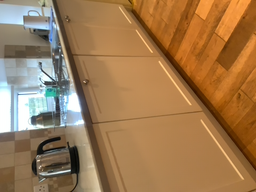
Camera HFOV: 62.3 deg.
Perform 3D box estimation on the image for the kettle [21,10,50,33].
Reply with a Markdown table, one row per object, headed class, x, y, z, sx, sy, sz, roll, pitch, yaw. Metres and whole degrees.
| class | x | y | z | sx | sy | sz | roll | pitch | yaw |
| --- | --- | --- | --- | --- | --- | --- | --- | --- | --- |
| kettle | -0.940 | -0.760 | 2.160 | 0.150 | 0.250 | 0.140 | 111 | 146 | -41 |
